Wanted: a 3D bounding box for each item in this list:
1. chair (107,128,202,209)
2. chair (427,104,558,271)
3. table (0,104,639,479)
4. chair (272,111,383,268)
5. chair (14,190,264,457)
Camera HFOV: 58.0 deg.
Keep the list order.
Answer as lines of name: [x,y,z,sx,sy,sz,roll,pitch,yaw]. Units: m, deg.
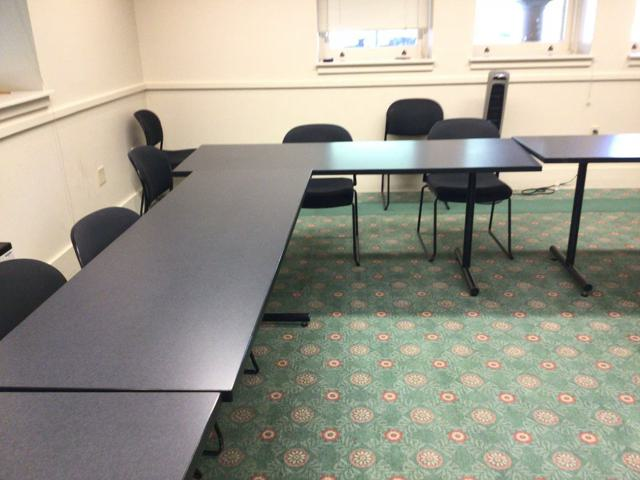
chair: [-0.850,-0.390,3.050,0.240,0.280,0.560,-1,22,9]
chair: [0.940,-0.320,3.330,0.590,0.780,0.640,-2,22,6]
table: [0.540,0.490,1.250,2.930,0.880,4.320,-1,20,9]
chair: [0.080,-0.310,3.430,0.550,0.780,0.580,-1,22,8]
chair: [-0.600,0.270,2.100,0.580,0.780,0.470,3,23,17]
